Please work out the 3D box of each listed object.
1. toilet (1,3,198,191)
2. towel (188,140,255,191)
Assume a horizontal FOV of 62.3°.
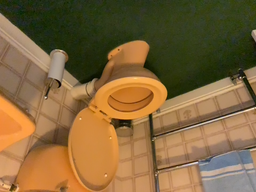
[{"bbox_3d":[-0.120,0.120,1.250,0.680,0.960,0.600,-24,137,24],"label":"toilet"},{"bbox_3d":[0.550,0.460,1.230,0.310,0.320,0.100,-21,138,21],"label":"towel"}]
